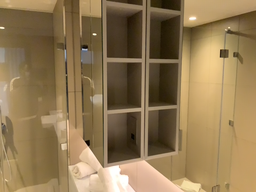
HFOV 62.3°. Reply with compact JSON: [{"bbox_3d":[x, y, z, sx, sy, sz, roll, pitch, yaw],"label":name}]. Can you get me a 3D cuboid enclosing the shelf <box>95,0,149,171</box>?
[{"bbox_3d":[-0.040,-0.180,1.130,0.220,1.080,0.230,-3,8,-20],"label":"shelf"}]
